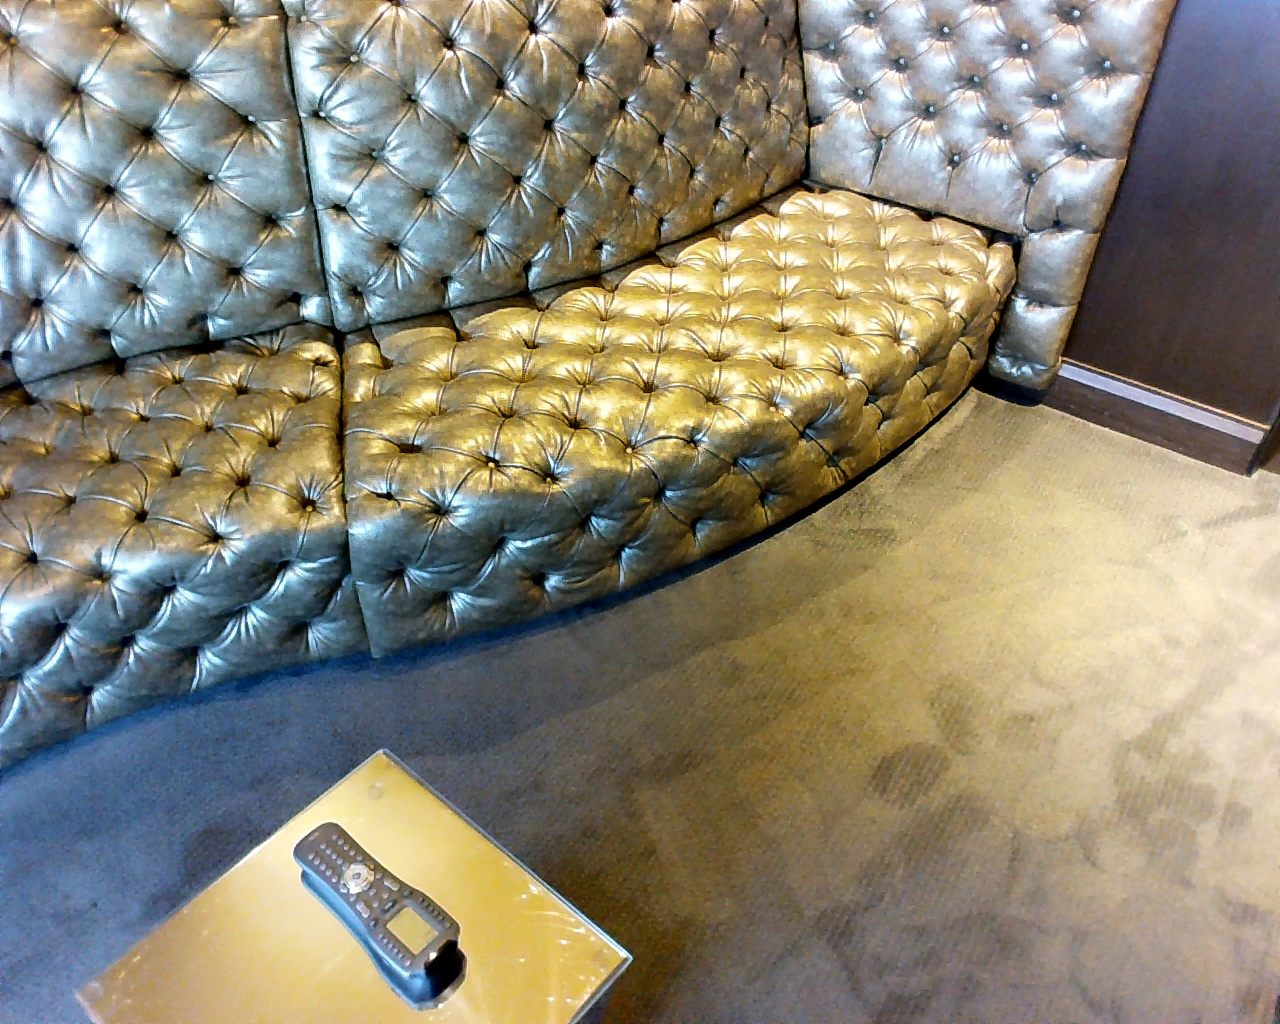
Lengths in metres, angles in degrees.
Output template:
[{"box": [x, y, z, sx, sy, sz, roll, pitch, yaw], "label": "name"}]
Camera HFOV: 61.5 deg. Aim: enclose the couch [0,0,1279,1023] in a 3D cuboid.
[{"box": [-0.920, 0.330, 1.200, 2.510, 1.090, 4.730, 25, 47, 24], "label": "couch"}]
